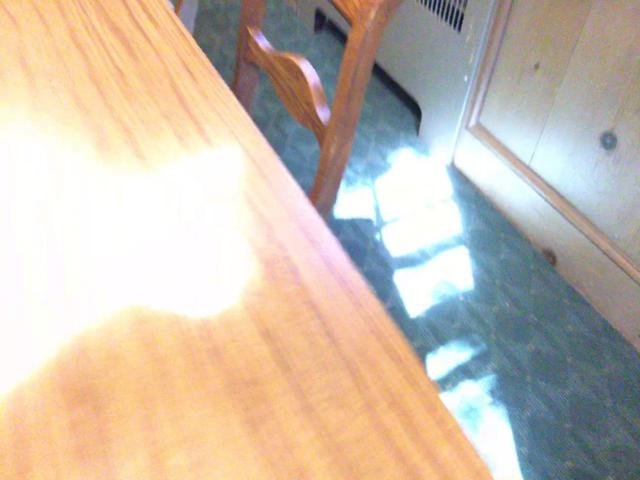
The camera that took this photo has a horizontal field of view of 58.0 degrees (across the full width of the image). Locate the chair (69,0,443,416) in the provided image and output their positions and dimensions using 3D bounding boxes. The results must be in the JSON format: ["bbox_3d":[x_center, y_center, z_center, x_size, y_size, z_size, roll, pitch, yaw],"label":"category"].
[{"bbox_3d":[-0.140,-0.120,1.080,0.400,0.810,0.450,-19,52,-18],"label":"chair"}]
